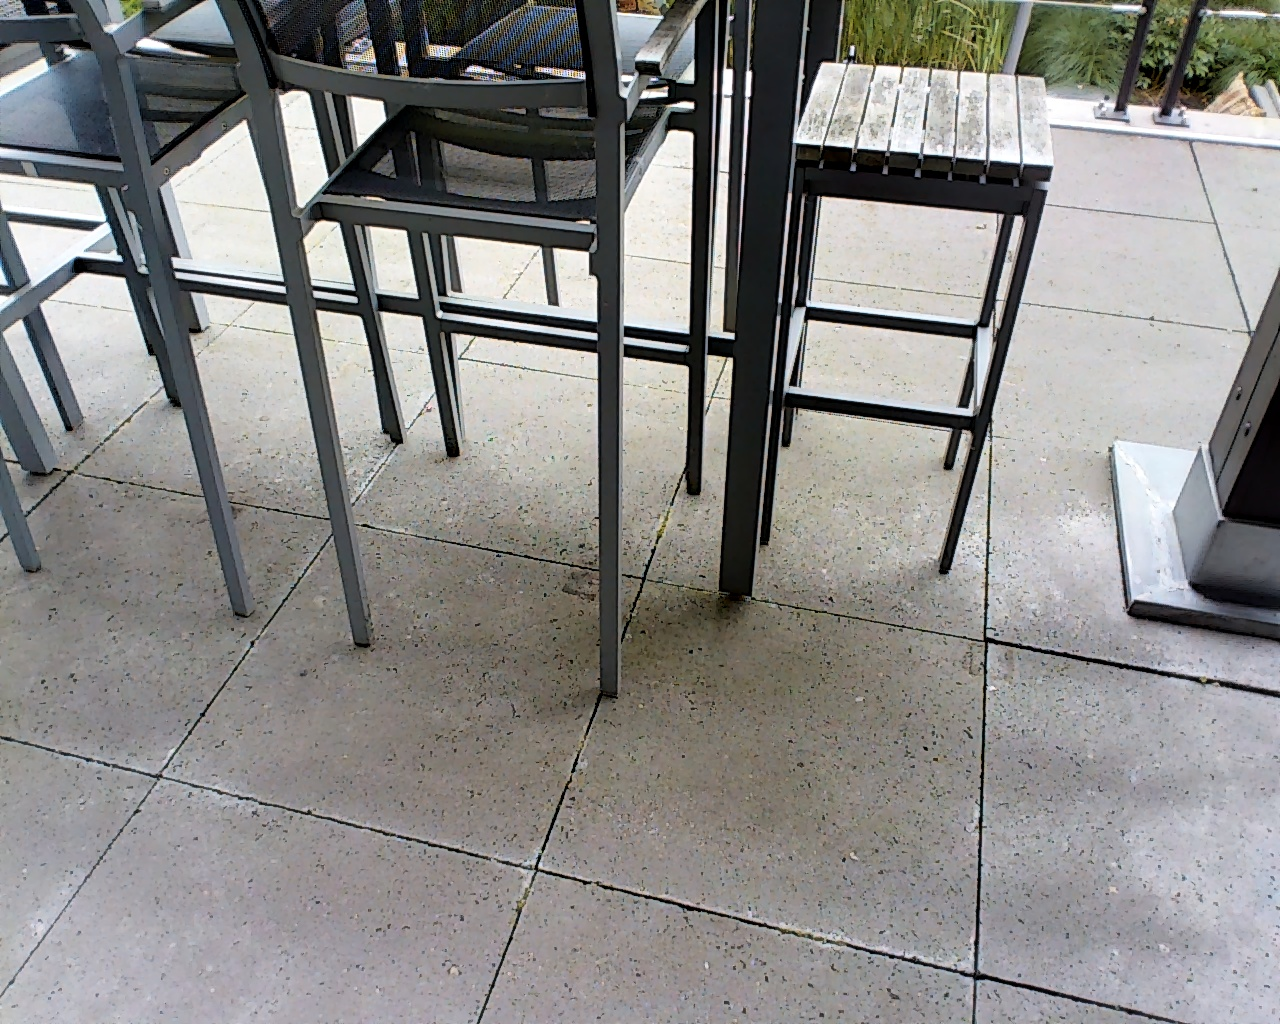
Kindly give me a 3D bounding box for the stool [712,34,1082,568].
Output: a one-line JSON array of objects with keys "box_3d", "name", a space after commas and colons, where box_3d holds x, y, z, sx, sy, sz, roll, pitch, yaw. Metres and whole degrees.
[{"box_3d": [0.410, -0.350, 1.850, 0.470, 0.750, 0.400, 10, 42, 12], "name": "stool"}]
